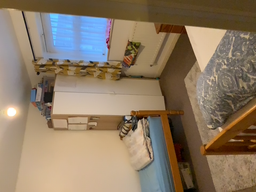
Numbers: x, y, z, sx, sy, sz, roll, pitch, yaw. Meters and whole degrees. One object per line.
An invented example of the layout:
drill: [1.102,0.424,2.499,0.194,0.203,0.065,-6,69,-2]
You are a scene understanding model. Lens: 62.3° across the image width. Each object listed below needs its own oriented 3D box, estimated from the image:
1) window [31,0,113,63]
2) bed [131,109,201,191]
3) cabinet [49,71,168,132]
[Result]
window: [-0.810,-0.940,3.160,1.190,1.010,0.060,109,158,-54]
bed: [0.500,1.330,2.910,1.030,0.520,2.040,110,157,-56]
cabinet: [-0.340,0.120,3.750,0.570,1.870,0.840,111,158,-55]
